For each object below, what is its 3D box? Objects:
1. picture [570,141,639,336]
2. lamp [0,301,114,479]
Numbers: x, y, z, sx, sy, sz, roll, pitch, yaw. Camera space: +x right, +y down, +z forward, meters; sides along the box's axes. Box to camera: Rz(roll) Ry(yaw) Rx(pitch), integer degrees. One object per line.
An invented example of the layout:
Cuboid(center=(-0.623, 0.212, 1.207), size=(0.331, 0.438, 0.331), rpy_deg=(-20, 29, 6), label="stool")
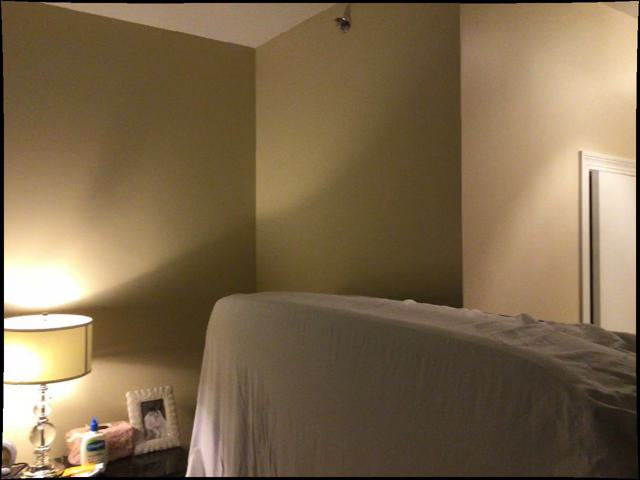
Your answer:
Cuboid(center=(1.536, -0.030, 2.660), size=(1.128, 0.782, 0.100), rpy_deg=(-3, 3, -33), label="picture")
Cuboid(center=(-1.097, 0.601, 2.330), size=(0.399, 0.631, 0.400), rpy_deg=(-3, 3, -33), label="lamp")
